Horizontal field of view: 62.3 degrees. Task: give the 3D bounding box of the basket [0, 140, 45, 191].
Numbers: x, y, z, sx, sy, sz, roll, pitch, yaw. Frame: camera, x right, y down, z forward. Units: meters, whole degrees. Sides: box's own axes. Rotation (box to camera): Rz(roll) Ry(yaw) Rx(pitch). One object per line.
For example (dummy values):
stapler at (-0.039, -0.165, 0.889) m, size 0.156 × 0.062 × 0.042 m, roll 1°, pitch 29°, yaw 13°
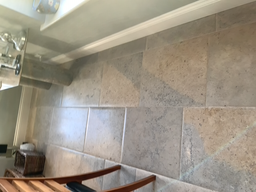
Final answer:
basket at (-1.580, 1.150, 2.980) m, size 0.740 × 0.370 × 0.940 m, roll 1°, pitch 81°, yaw 45°
